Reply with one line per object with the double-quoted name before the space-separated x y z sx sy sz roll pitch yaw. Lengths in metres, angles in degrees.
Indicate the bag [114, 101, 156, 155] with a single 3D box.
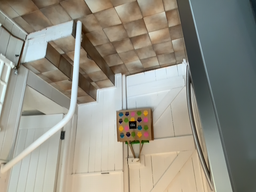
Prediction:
"bag" 0.070 0.360 2.370 0.420 0.540 0.170 -8 154 14
